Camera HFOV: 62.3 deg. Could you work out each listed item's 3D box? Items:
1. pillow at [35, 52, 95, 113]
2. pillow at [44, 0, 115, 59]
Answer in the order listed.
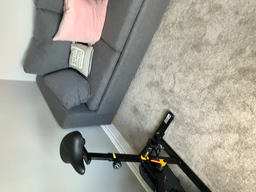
[{"bbox_3d":[-0.630,-0.130,2.070,0.270,0.290,0.560,-54,52,17],"label":"pillow"},{"bbox_3d":[-0.430,-0.650,1.880,0.480,0.340,0.260,-54,52,11],"label":"pillow"}]
